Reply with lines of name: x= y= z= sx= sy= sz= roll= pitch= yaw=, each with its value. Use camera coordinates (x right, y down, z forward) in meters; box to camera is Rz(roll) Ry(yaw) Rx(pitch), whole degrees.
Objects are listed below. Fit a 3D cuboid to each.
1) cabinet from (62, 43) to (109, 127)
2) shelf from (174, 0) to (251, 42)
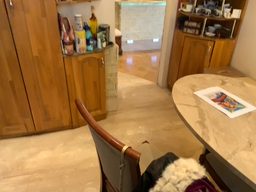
cabinet: x=-0.440 y=-0.110 z=2.280 sx=0.400 sy=0.820 sz=0.300 roll=-7 pitch=32 yaw=-15
shelf: x=0.940 y=-1.030 z=2.430 sx=0.550 sy=0.630 sz=0.560 roll=-6 pitch=32 yaw=-14
